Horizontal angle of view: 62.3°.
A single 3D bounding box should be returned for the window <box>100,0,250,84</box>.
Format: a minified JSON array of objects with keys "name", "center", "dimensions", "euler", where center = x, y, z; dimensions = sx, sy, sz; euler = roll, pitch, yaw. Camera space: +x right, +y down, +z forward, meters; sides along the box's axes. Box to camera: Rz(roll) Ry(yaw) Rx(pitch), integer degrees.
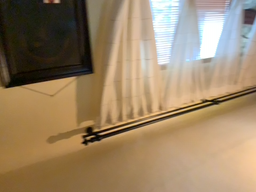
[{"name":"window","center":[0.550,-0.970,1.940],"dimensions":[1.690,1.460,0.190],"euler":[-13,-157,-29]}]
